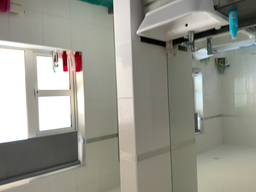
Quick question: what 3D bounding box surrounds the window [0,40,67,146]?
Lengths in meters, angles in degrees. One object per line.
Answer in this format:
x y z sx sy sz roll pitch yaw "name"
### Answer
-1.430 -0.020 1.790 1.910 0.980 0.080 -2 180 -44 "window"
